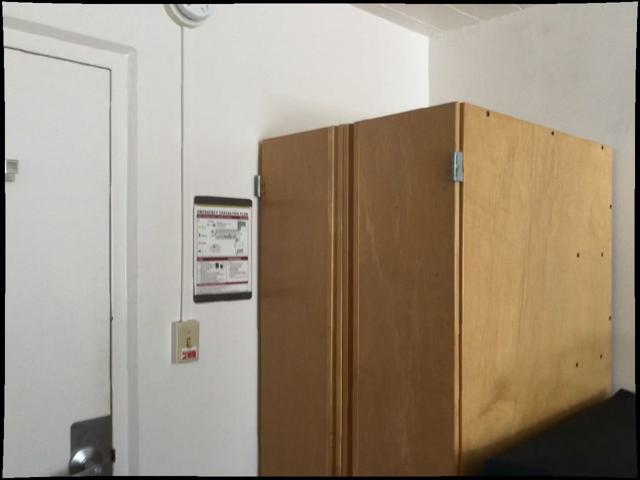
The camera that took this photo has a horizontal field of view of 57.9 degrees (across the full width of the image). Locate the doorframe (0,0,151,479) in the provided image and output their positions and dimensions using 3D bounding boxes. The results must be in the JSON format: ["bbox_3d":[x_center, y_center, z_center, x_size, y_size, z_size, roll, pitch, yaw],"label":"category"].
[{"bbox_3d":[-0.849,0.420,1.290,0.979,1.992,0.060,-1,2,-43],"label":"doorframe"}]
